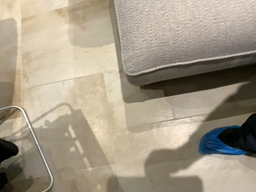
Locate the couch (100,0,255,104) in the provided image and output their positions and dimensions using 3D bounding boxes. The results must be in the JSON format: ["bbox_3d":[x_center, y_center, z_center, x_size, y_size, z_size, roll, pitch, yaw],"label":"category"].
[{"bbox_3d":[0.410,-0.350,0.900,0.950,0.530,0.490,-11,74,6],"label":"couch"}]
